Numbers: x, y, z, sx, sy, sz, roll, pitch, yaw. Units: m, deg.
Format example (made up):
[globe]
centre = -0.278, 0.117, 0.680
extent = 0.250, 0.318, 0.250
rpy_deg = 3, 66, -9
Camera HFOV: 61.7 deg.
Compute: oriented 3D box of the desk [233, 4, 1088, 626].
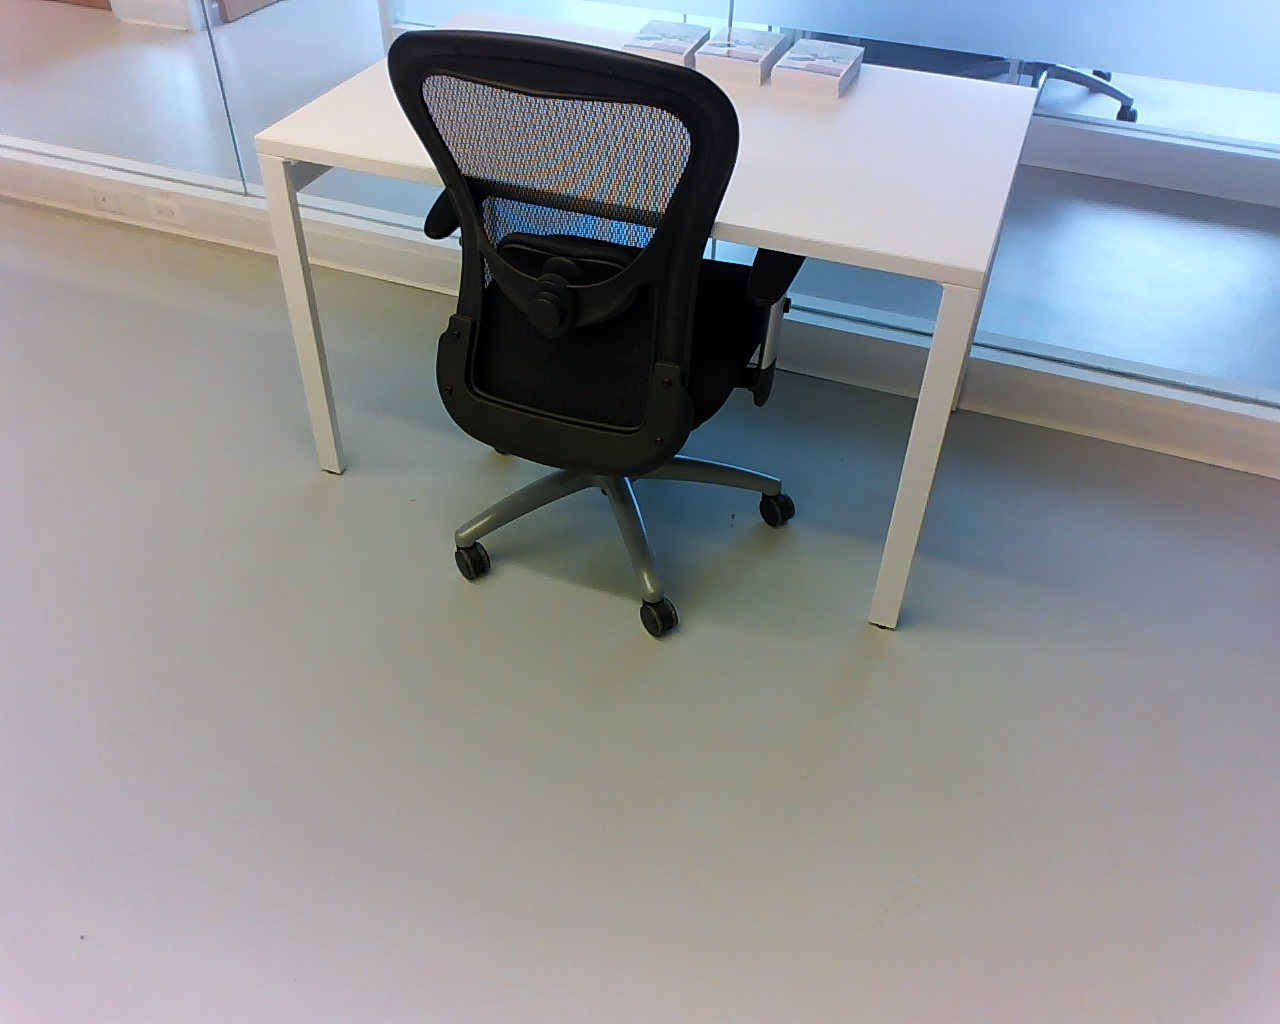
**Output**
[desk]
centre = 0.060, -0.430, 2.090
extent = 1.320, 0.730, 0.670
rpy_deg = 14, 45, 16
